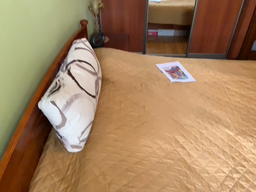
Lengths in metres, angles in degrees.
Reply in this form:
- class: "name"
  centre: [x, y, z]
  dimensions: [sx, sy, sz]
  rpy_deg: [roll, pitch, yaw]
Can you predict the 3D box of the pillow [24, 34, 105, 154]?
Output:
- class: "pillow"
  centre: [-0.300, -0.060, 1.240]
  dimensions: [0.230, 0.340, 0.700]
  rpy_deg: [1, 38, 1]
